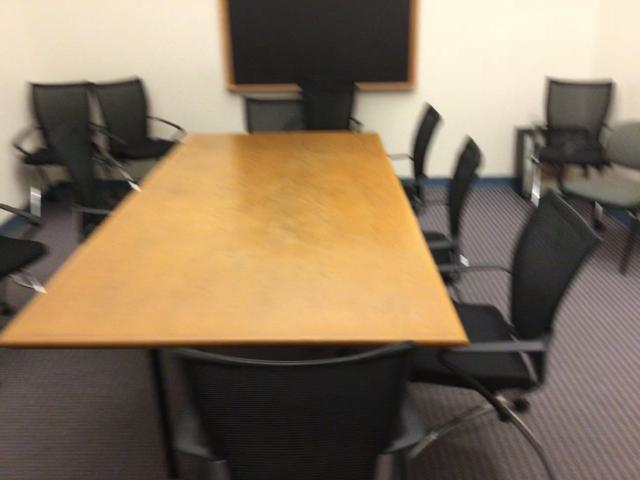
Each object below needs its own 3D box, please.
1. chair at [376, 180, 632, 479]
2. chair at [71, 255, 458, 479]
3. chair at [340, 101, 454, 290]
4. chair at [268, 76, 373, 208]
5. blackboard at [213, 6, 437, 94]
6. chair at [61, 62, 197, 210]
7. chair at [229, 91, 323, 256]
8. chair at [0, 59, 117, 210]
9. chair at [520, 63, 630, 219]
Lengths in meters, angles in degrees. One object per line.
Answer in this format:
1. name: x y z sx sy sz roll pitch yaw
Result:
1. chair: 0.510 0.320 1.920 0.590 0.890 0.550 -1 25 1
2. chair: -0.080 0.590 1.420 0.630 0.910 0.630 -1 25 1
3. chair: 0.390 -0.260 3.260 0.540 0.910 0.570 -1 25 1
4. chair: 0.030 -0.760 4.400 0.660 0.840 0.600 3 25 10
5. blackboard: 0.040 -1.420 4.370 1.620 0.590 0.120 -1 25 1
6. chair: -1.380 -0.790 4.290 0.630 0.910 0.550 15 29 32
7. chair: -0.240 -0.410 3.600 0.500 0.920 0.420 -1 25 1
8. chair: -1.940 -0.780 4.230 0.570 0.930 0.660 -1 25 1
9. chair: 1.720 -0.700 3.990 0.520 0.900 0.590 8 26 20
